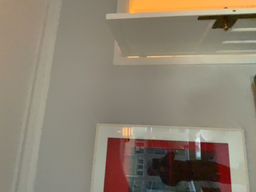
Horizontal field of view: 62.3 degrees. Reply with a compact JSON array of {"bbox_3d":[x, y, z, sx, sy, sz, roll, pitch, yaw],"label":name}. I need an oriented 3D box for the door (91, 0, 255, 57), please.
[{"bbox_3d":[0.840,-0.550,1.830,0.810,2.140,0.180,43,-132,-81],"label":"door"}]
